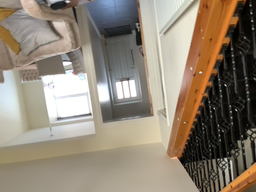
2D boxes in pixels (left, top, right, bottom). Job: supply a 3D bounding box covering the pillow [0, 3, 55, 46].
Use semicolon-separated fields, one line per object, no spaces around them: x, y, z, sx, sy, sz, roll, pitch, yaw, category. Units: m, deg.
-1.050;-0.740;2.200;0.490;0.310;0.200;6;-141;-6;pillow
